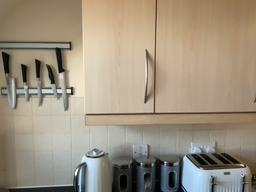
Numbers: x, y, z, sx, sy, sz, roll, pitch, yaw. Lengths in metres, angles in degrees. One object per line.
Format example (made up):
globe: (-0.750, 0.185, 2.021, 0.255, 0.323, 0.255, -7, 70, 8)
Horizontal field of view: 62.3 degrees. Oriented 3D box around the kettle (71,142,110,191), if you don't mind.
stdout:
kettle: (-0.180, 0.400, 1.060, 0.170, 0.270, 0.210, -1, 6, -8)
